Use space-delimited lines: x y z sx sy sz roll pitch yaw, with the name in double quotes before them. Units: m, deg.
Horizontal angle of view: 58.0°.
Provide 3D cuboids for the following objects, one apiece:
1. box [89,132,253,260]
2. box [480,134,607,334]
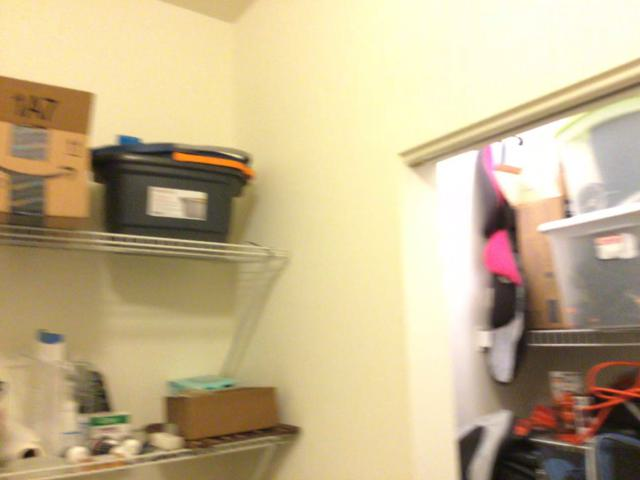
"box" -0.430 -0.100 1.630 0.390 0.250 0.360 3 -11 -23
"box" 0.680 0.000 1.790 0.190 0.570 0.260 6 -12 -34
